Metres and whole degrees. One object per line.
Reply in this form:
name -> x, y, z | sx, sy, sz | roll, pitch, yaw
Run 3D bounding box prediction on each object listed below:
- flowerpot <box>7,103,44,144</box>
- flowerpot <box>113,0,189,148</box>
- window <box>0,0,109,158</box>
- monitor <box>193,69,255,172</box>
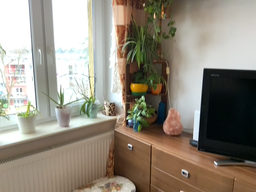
flowerpot -> -0.830, 0.210, 1.720 | 0.180, 0.240, 0.280 | -9, 15, -41
flowerpot -> 0.180, -0.370, 1.800 | 0.420, 1.450, 0.440 | -10, 16, -43
window -> -0.760, -0.380, 1.730 | 0.120, 1.620, 1.480 | 12, 16, 43
monitor -> 0.800, 0.160, 1.180 | 0.800, 0.580, 0.050 | 7, 13, 28
